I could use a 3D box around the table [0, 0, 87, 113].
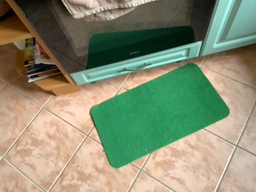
[{"bbox_3d":[-0.500,-0.390,0.880,0.340,0.870,0.590,-13,64,2],"label":"table"}]
